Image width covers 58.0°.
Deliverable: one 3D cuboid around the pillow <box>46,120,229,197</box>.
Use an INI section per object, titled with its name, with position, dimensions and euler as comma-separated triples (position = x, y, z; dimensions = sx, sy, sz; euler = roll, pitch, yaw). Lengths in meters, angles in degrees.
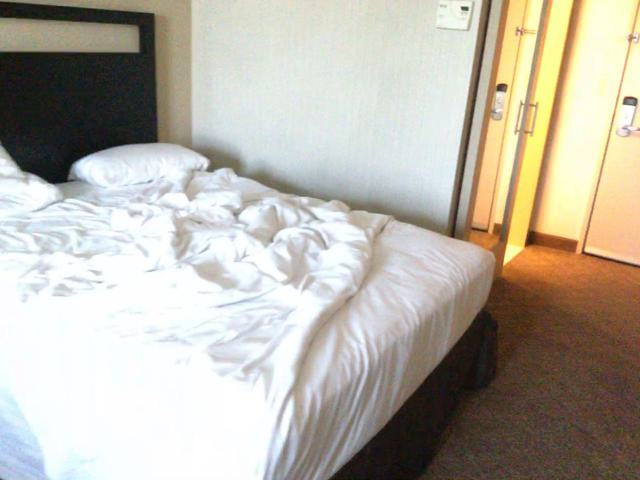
[pillow]
position = -0.880, -0.430, 2.870
dimensions = 0.520, 0.240, 0.680
euler = 15, 21, 32
